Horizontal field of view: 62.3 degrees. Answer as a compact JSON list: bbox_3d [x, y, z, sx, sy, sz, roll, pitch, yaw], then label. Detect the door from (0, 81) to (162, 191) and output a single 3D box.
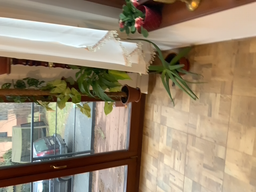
[{"bbox_3d":[-0.800,1.550,2.240,0.220,2.360,3.370,17,104,59],"label":"door"}]
